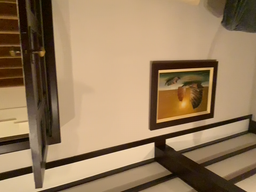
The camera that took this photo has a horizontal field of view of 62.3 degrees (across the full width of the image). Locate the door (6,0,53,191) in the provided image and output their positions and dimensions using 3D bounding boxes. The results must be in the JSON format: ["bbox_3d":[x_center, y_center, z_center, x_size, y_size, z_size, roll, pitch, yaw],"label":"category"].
[{"bbox_3d":[-0.690,-0.490,1.500,0.070,2.180,0.880,-3,-168,-15],"label":"door"}]
